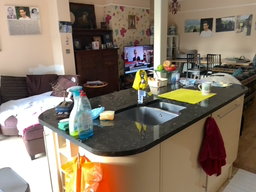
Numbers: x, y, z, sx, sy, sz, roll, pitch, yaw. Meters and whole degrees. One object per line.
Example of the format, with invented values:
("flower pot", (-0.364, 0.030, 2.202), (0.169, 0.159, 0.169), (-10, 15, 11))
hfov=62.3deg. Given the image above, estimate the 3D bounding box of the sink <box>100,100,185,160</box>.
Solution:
("sink", (0.100, 0.210, 1.550), (0.470, 0.210, 0.390), (12, 20, 42))
